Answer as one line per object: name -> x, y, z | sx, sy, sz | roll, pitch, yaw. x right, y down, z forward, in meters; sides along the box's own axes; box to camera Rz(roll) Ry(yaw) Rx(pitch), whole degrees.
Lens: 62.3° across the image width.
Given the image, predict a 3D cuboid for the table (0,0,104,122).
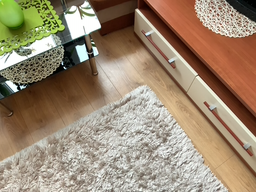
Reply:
table -> -0.580, -0.240, 1.230 | 0.750, 0.430, 0.400 | -27, 67, -14
